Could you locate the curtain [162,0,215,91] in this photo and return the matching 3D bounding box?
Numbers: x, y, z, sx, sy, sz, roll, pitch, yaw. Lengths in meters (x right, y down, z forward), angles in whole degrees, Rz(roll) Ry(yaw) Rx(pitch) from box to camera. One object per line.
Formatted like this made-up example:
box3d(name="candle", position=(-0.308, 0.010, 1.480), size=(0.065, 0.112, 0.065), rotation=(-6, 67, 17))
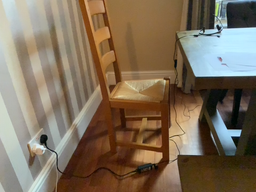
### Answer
box3d(name="curtain", position=(0.600, -1.180, 2.100), size=(0.490, 2.380, 0.260), rotation=(0, 26, 9))
